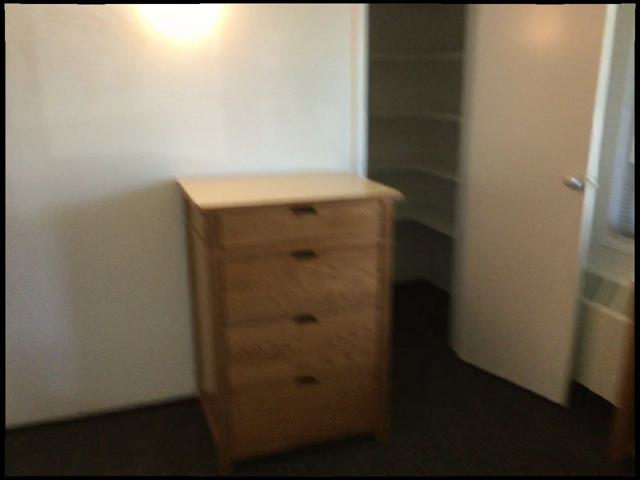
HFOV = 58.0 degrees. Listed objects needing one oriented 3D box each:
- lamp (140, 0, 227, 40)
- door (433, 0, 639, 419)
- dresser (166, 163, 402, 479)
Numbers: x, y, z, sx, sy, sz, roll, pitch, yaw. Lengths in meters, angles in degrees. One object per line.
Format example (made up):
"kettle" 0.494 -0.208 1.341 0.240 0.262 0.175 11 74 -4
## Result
"lamp" -0.539 -0.982 2.250 0.309 0.371 0.170 -5 18 -19
"door" 0.918 -0.291 2.630 0.110 2.064 0.800 -12 20 -35
"dresser" -0.180 0.281 2.430 0.789 1.082 0.630 -5 18 -19
